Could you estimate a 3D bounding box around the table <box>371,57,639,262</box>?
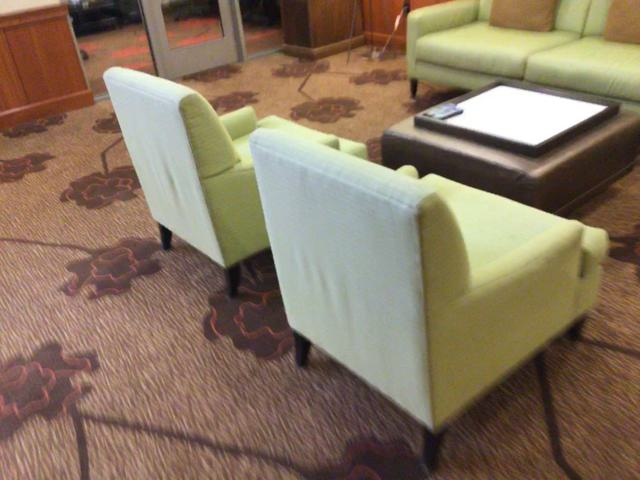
[{"bbox_3d":[0.900,-0.470,2.900,0.910,0.480,0.890,-28,42,-30],"label":"table"}]
